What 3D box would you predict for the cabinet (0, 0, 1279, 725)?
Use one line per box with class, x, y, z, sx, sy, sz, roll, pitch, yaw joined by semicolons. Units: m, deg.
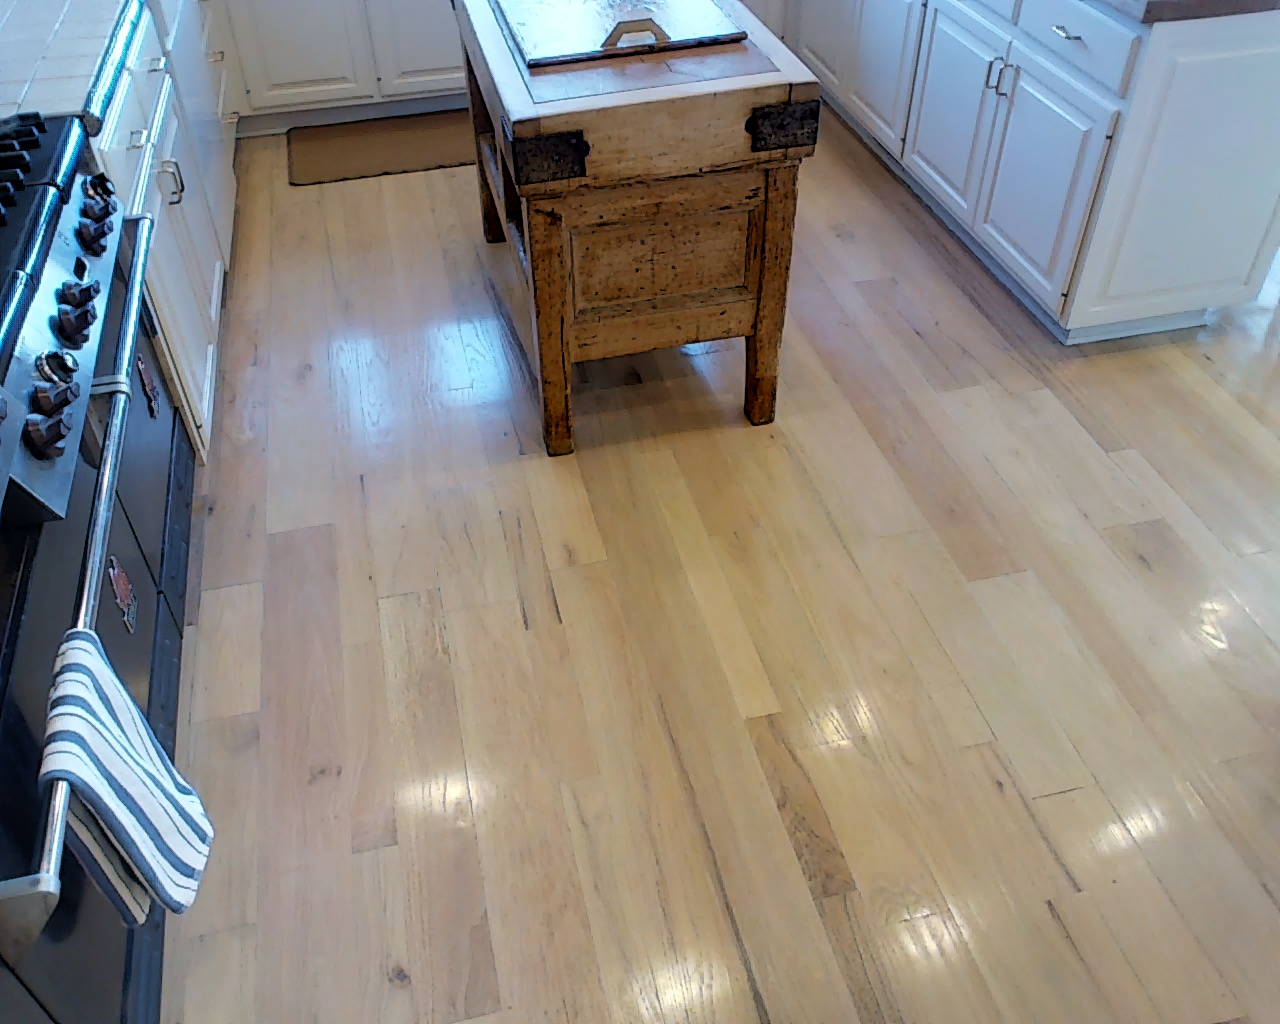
cabinet;-0.200;-1.420;3.320;3.590;0.970;3.790;-9;42;-9
